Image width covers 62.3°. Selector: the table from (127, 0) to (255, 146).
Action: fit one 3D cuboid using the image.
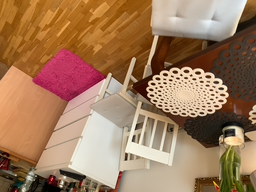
[{"bbox_3d":[0.560,-0.260,1.200,0.710,0.760,0.680,-22,131,42],"label":"table"}]
